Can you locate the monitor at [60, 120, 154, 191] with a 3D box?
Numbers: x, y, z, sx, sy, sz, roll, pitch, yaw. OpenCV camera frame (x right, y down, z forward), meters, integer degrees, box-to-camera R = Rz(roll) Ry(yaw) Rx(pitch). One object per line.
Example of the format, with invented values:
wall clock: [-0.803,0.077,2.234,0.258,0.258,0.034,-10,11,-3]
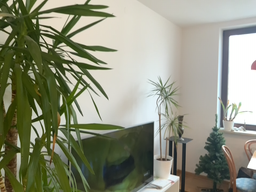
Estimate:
monitor: [-0.100,0.660,2.030,0.090,0.720,1.240,3,3,35]

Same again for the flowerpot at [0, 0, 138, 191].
flowerpot: [-0.570,0.070,1.210,0.890,1.950,0.880,3,3,35]

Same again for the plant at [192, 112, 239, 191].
plant: [1.360,0.880,3.280,0.530,1.170,0.470,3,3,36]
